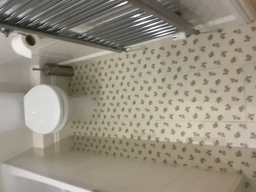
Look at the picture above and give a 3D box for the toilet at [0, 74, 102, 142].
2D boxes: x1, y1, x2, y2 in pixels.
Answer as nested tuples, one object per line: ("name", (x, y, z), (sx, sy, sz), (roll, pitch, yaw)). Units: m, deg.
("toilet", (-0.720, 0.090, 1.660), (0.650, 0.770, 0.370), (-7, 87, 37))
